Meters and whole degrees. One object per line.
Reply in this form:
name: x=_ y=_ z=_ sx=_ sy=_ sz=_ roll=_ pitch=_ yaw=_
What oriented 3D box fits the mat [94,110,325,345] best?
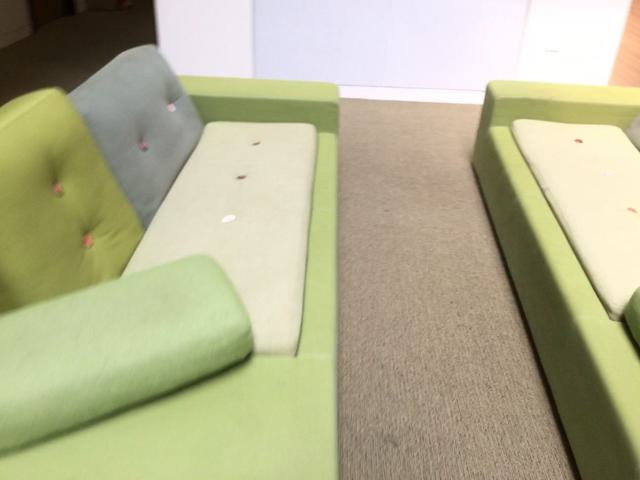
mat: x=-0.270 y=-0.160 z=2.020 sx=0.490 sy=0.080 sz=1.380 roll=3 pitch=33 yaw=2

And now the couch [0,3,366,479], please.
couch: x=-0.390 y=-0.090 z=1.870 sx=1.020 sy=0.810 sz=2.260 roll=3 pitch=33 yaw=2
